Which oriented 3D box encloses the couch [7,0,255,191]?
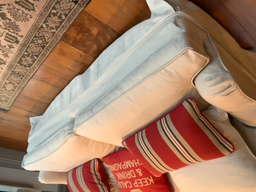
[{"bbox_3d":[-0.050,0.340,1.520,0.900,0.870,1.810,25,137,-34],"label":"couch"}]
